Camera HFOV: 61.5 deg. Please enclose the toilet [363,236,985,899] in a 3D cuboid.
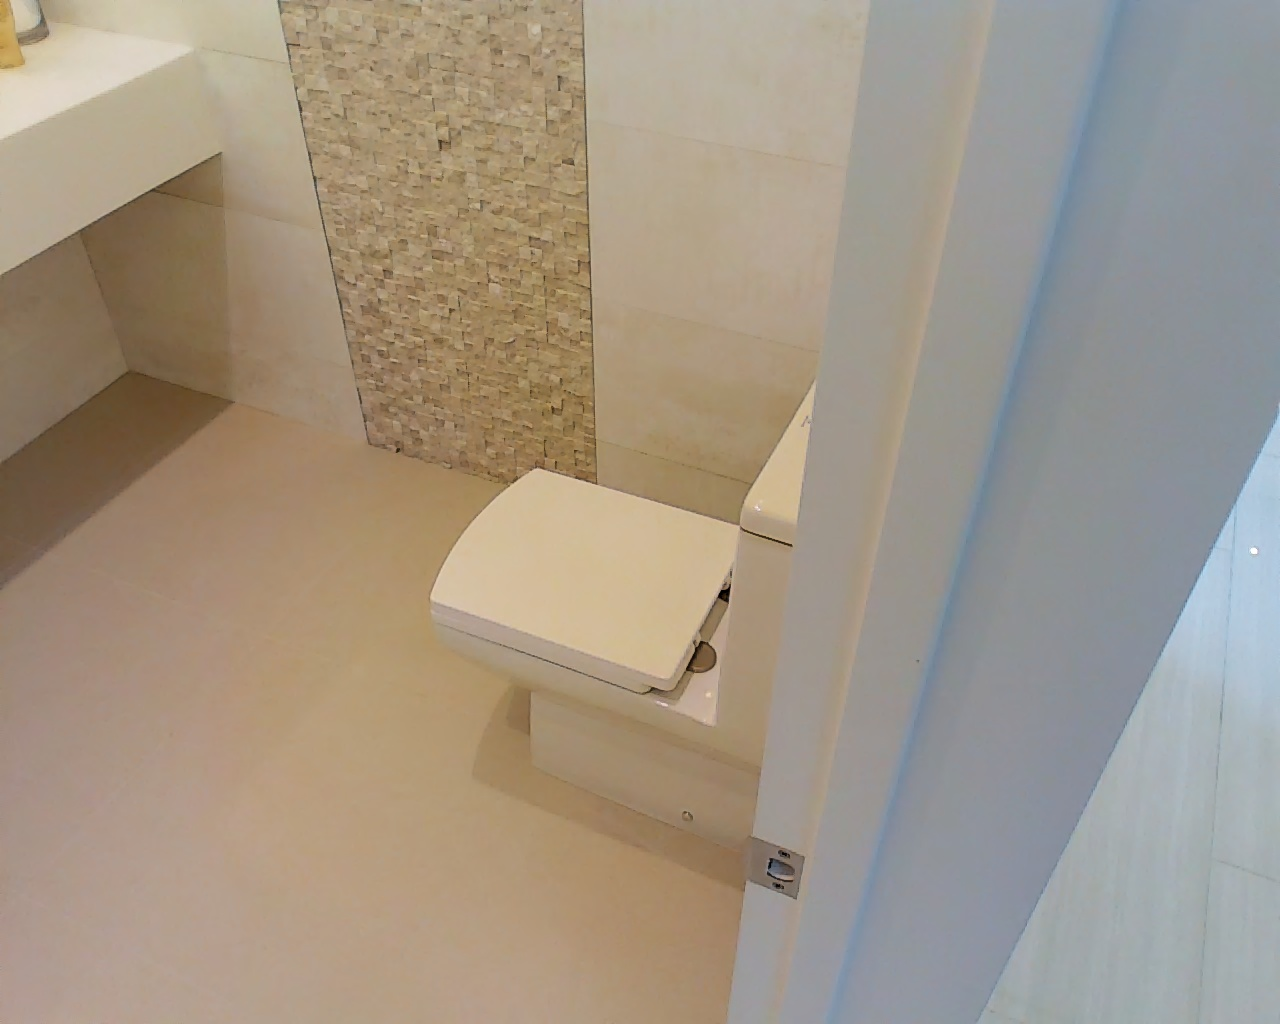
[{"bbox_3d":[0.050,0.090,1.650,0.700,0.770,0.410,18,45,18],"label":"toilet"}]
